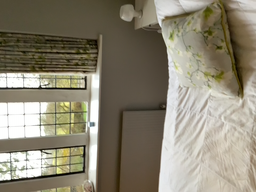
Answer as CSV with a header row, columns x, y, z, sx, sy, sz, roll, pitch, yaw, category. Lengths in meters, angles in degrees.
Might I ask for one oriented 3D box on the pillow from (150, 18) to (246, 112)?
x,y,z,sx,sy,sz,roll,pitch,yaw,category
0.360,-0.180,1.250,0.510,0.230,0.430,-155,66,-66,pillow
